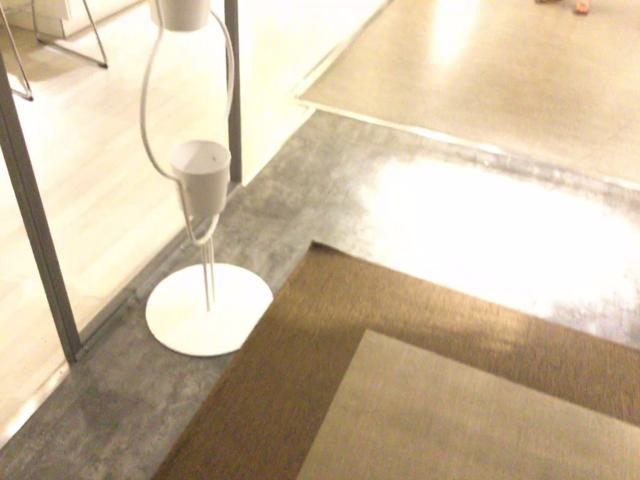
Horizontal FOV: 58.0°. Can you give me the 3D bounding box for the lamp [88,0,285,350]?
[{"bbox_3d":[-0.270,-0.200,1.370,0.180,0.900,0.400,20,42,16],"label":"lamp"}]
